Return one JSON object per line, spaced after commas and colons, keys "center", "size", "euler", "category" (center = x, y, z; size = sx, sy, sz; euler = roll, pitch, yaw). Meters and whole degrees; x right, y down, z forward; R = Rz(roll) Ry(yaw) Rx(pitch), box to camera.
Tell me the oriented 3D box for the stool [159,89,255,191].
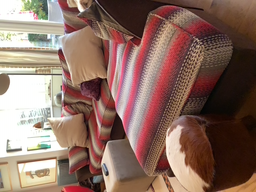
{"center": [0.450, 0.200, 0.930], "size": [0.320, 0.460, 0.320], "euler": [-116, 32, -45], "category": "stool"}
